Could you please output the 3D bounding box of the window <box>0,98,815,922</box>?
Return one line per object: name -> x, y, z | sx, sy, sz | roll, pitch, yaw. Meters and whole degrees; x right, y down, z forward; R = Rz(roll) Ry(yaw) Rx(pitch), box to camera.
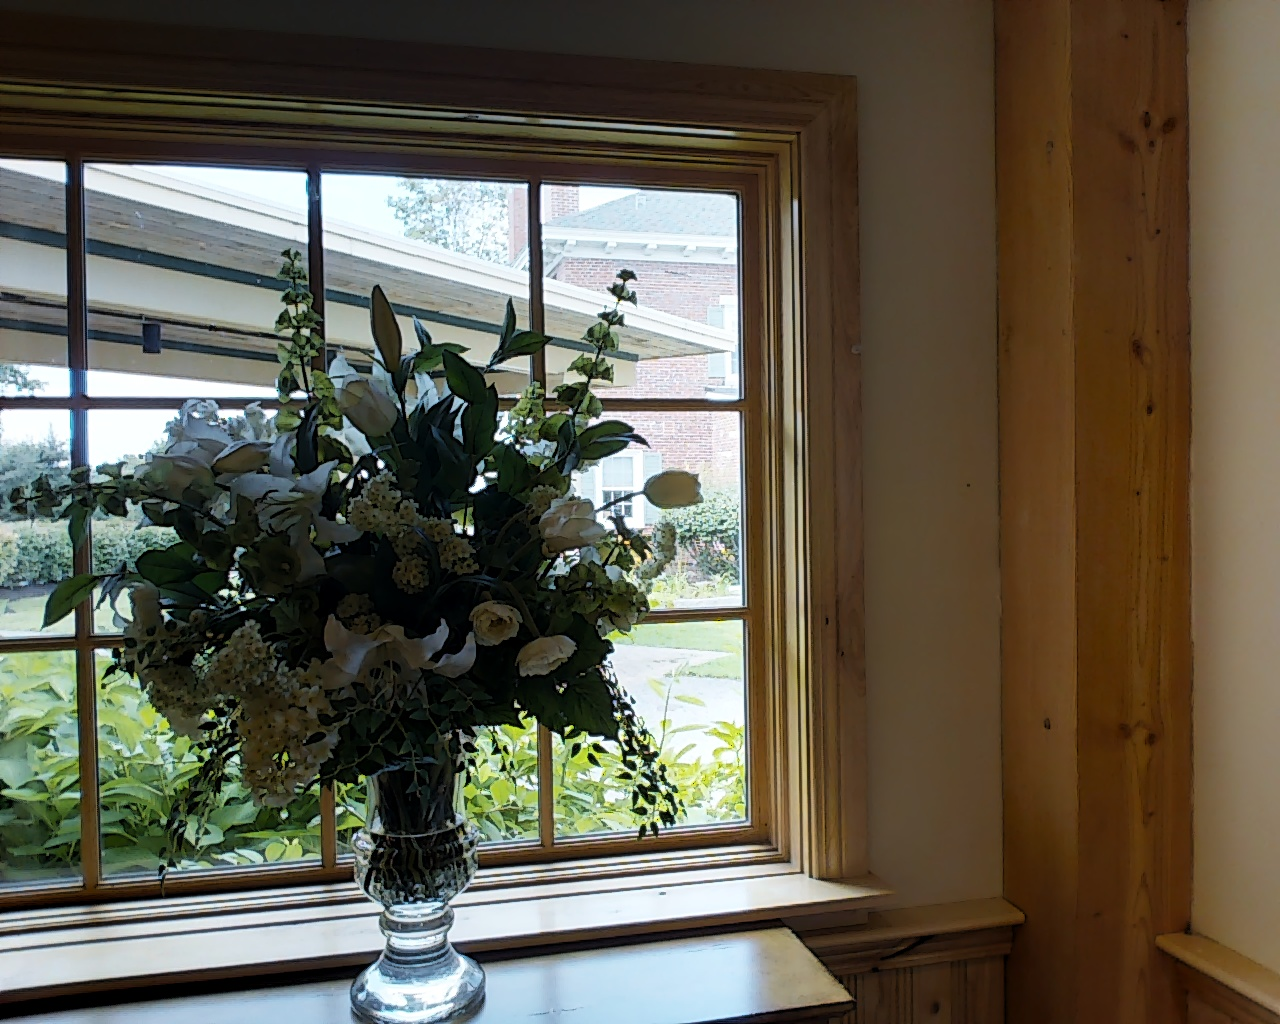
window -> -0.450, -0.010, 1.600 | 1.460, 1.100, 0.130 | -1, 1, -14
